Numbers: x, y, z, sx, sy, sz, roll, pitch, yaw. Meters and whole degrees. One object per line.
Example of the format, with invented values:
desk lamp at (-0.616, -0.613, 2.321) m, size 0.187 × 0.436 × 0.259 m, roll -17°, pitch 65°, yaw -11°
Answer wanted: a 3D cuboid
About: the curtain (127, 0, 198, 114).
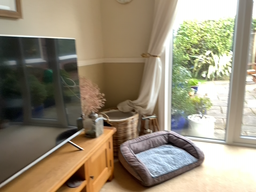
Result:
curtain at (0.360, -0.820, 2.280) m, size 0.720 × 2.000 × 0.160 m, roll 4°, pitch 14°, yaw 19°
